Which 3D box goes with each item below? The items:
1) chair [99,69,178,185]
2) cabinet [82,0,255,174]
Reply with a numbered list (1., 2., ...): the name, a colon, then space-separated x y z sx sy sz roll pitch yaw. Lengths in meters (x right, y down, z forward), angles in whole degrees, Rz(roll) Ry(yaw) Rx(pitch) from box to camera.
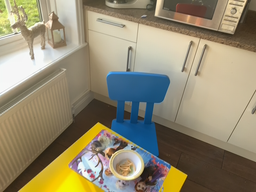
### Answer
1. chair: 0.030 0.220 1.360 0.380 0.660 0.360 4 39 -2
2. cabinet: 0.500 -0.120 1.630 1.680 0.880 0.460 21 42 18
